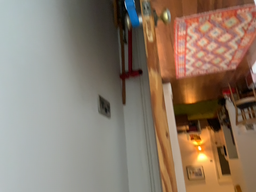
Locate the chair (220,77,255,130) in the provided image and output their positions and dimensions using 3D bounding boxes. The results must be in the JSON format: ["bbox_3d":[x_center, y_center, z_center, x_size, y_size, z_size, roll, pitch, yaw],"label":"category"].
[{"bbox_3d":[2.220,0.180,4.100,0.550,0.840,0.610,-15,160,31],"label":"chair"}]
